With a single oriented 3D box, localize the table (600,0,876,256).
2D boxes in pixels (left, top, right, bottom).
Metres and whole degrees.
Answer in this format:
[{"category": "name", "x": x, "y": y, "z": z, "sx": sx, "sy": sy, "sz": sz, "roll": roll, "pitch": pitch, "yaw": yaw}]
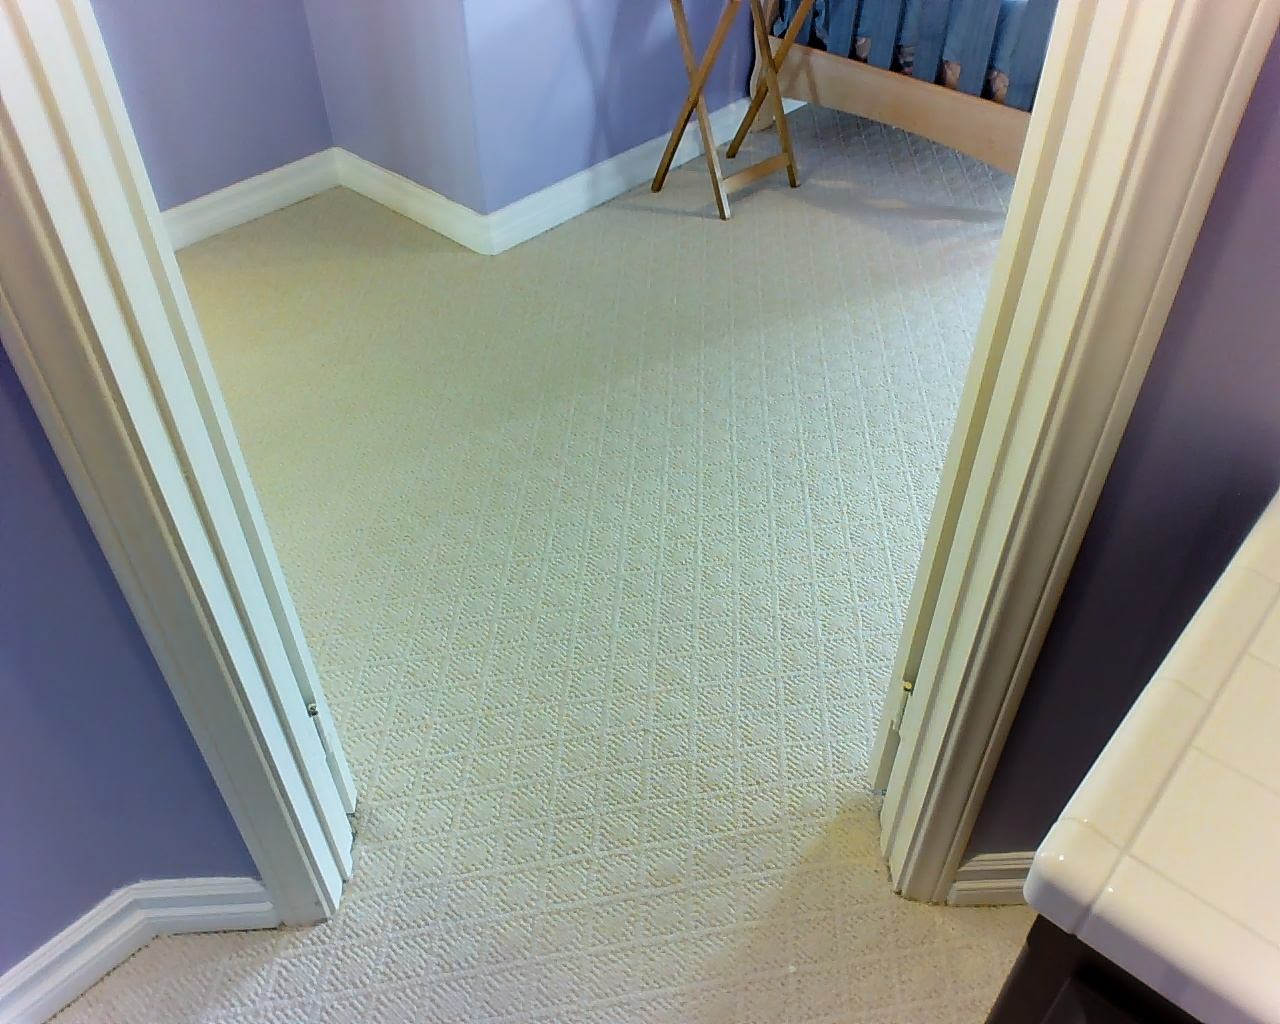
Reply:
[{"category": "table", "x": 0.280, "y": -1.220, "z": 3.040, "sx": 0.450, "sy": 0.650, "sz": 0.650, "roll": 30, "pitch": 51, "yaw": 29}]
